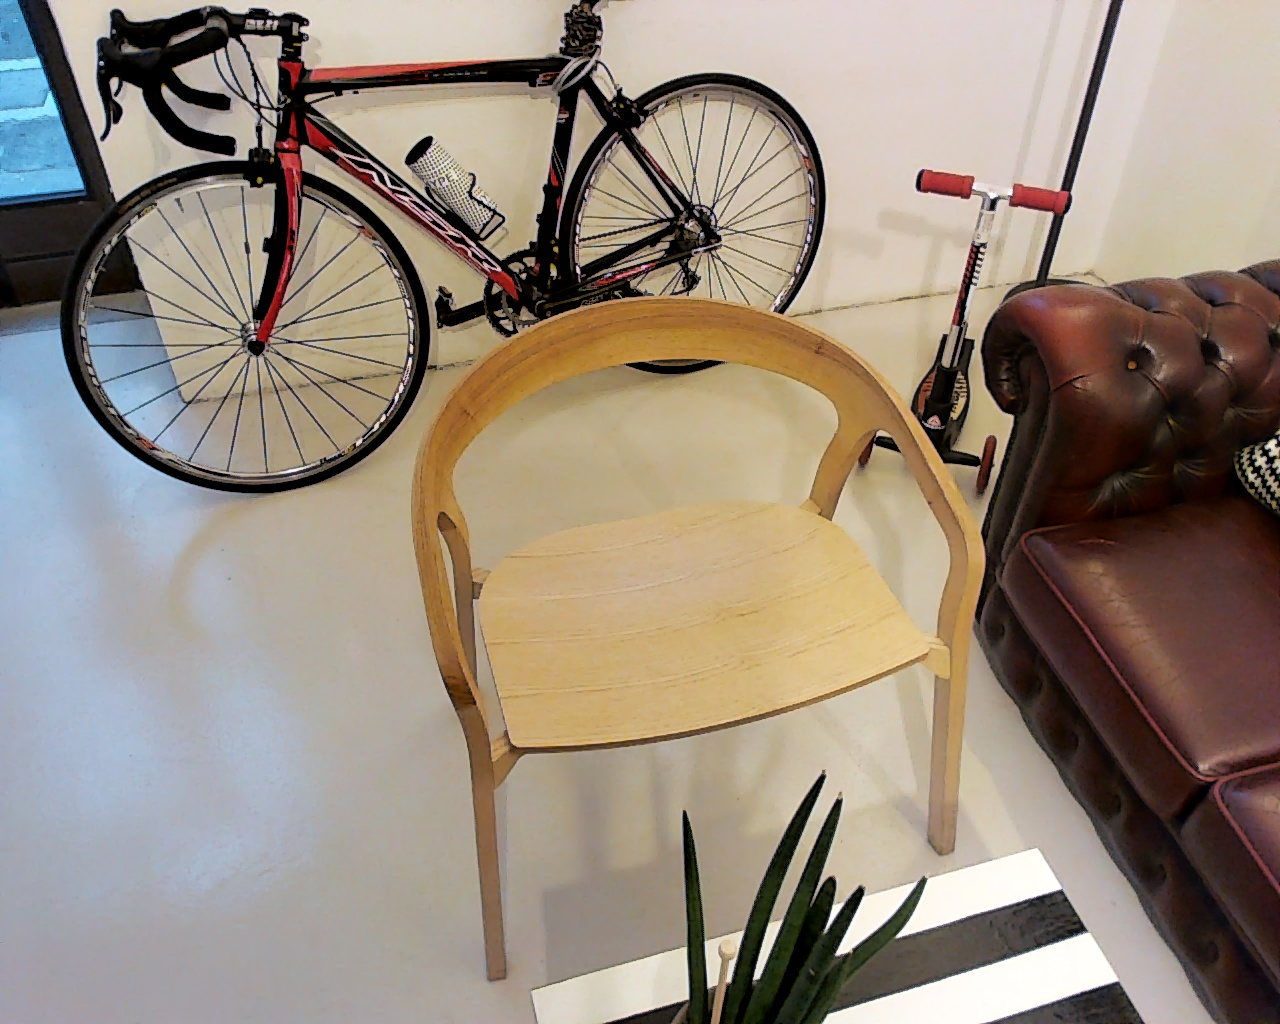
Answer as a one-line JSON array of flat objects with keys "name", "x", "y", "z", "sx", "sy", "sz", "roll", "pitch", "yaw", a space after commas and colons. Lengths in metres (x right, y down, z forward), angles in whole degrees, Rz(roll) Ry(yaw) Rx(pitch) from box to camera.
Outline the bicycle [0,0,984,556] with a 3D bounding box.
[{"name": "bicycle", "x": -0.280, "y": -0.610, "z": 2.200, "sx": 1.739, "sy": 0.920, "sz": 0.480, "roll": -16, "pitch": 52, "yaw": -17}]
